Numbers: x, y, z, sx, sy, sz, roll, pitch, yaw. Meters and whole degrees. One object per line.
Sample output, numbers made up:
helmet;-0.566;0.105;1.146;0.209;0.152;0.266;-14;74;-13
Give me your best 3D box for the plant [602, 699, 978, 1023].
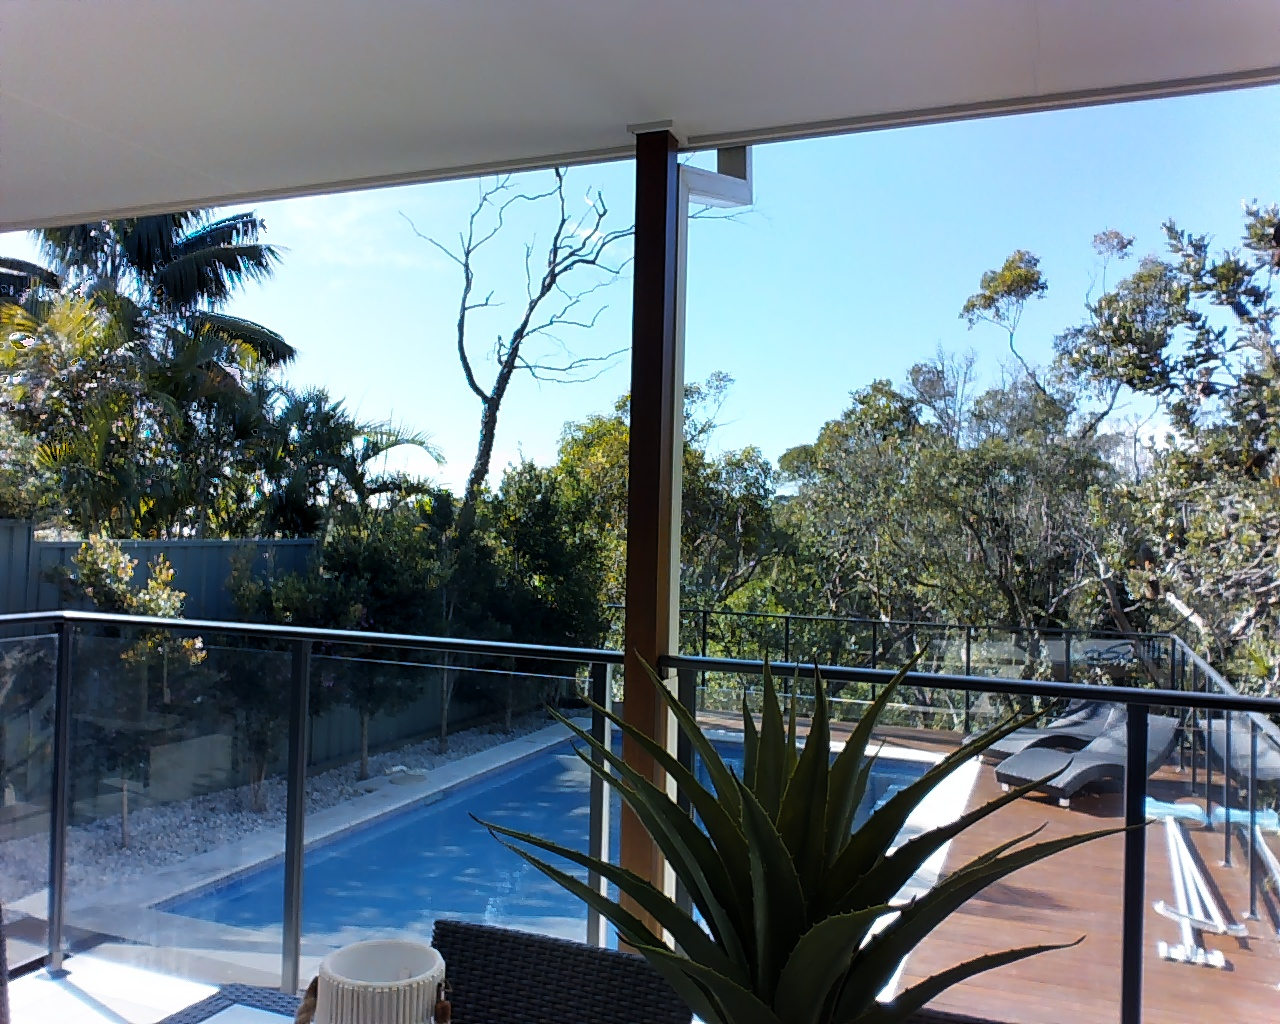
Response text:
plant;0.140;0.380;1.010;0.260;0.350;0.230;1;-1;44
